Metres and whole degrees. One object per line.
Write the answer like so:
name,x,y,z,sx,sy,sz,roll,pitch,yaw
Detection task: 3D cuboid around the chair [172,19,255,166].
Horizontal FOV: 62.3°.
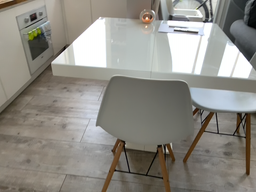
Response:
chair,0.620,-0.020,1.410,0.520,0.830,0.440,5,33,5

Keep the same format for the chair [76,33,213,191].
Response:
chair,0.070,0.160,1.120,0.440,0.810,0.530,5,33,5
